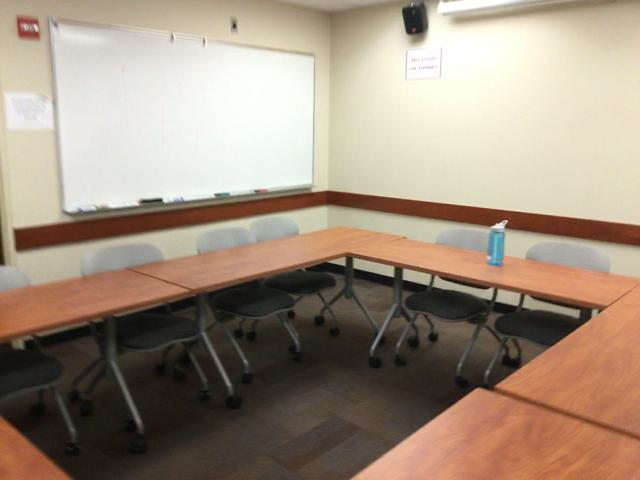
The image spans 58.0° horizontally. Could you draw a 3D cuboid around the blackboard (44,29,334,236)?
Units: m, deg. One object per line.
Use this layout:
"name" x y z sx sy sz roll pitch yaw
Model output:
"blackboard" -0.770 -0.910 4.430 0.120 1.270 2.370 11 21 43
